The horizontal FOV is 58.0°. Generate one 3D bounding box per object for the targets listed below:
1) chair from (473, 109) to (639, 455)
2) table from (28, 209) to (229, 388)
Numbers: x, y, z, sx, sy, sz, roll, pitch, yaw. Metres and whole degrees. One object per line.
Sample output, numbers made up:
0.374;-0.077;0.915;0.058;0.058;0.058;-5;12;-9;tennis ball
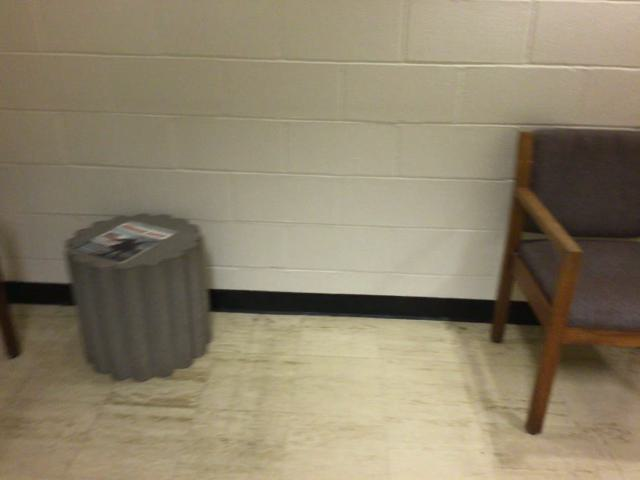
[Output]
0.970;0.100;1.840;0.720;0.880;0.670;2;23;2;chair
-0.640;0.190;2.080;0.520;0.460;0.450;2;23;2;table
